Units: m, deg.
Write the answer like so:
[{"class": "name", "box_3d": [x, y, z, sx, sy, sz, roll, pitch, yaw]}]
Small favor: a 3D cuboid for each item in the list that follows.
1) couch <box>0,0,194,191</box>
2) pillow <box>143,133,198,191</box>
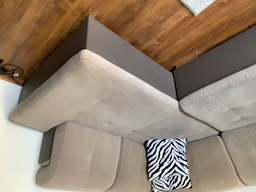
[{"class": "couch", "box_3d": [-0.280, 0.150, 1.560, 0.840, 0.890, 1.030, 24, 140, -37]}, {"class": "pillow", "box_3d": [0.390, 0.650, 2.060, 0.360, 0.470, 0.190, -14, 137, -7]}]
